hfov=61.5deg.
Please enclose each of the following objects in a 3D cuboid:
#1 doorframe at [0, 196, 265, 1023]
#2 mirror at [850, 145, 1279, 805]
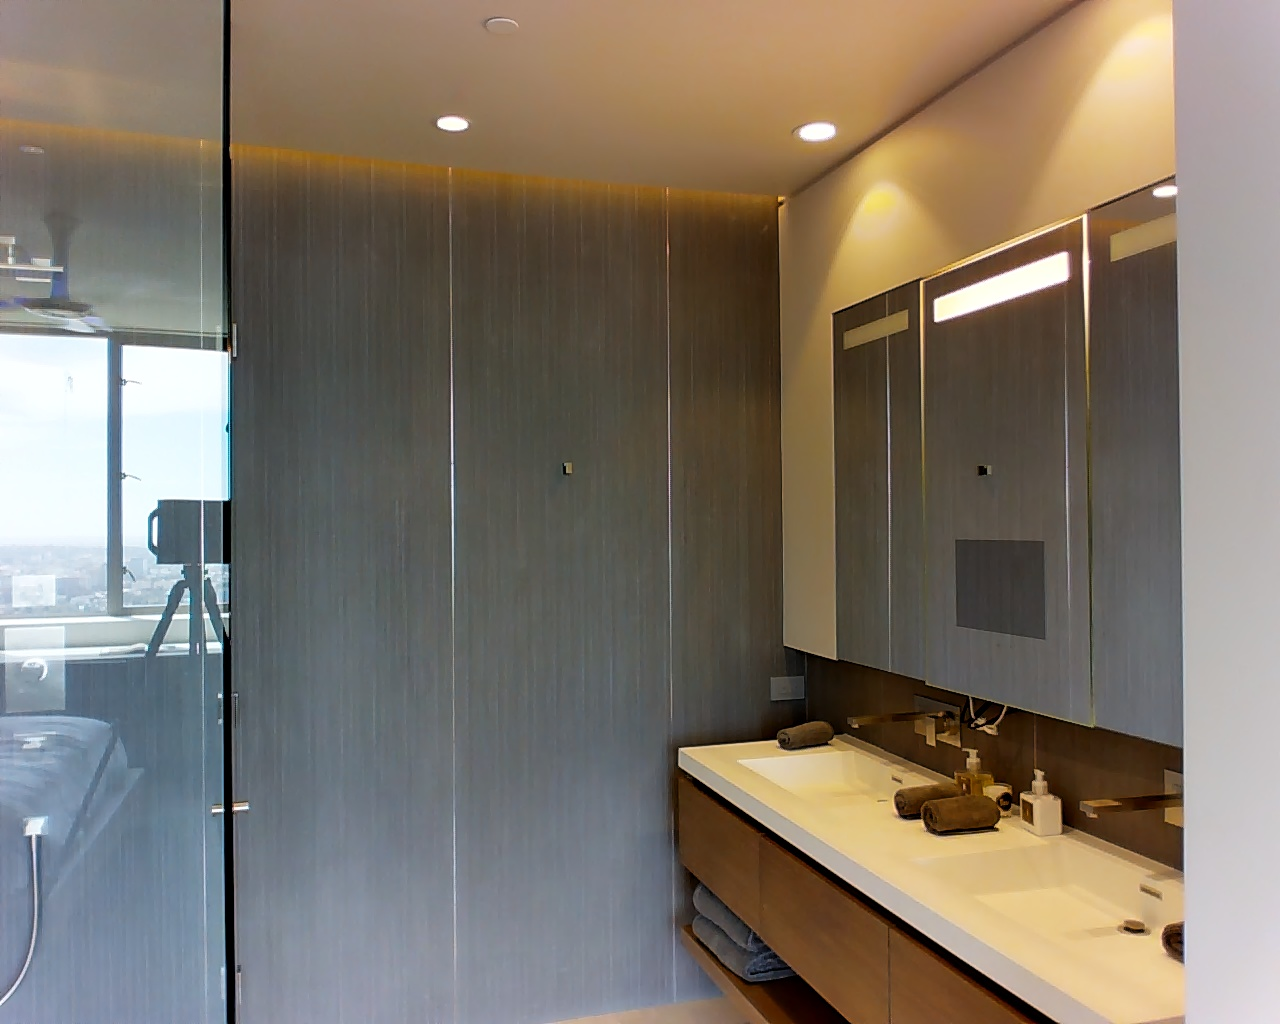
[{"bbox_3d":[-1.440,0.500,2.810,0.850,2.580,0.180,0,-1,-13],"label":"doorframe"},{"bbox_3d":[0.860,-0.050,2.360,0.120,1.030,1.450,0,-1,-17],"label":"mirror"}]
